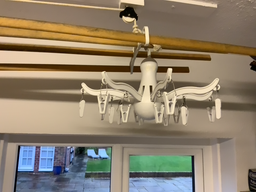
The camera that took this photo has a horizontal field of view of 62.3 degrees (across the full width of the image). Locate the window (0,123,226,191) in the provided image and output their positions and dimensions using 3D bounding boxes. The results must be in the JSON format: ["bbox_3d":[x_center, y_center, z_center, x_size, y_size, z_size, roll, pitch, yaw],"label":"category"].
[{"bbox_3d":[-0.130,0.650,1.170,1.230,0.960,0.390,3,-9,-10],"label":"window"}]
